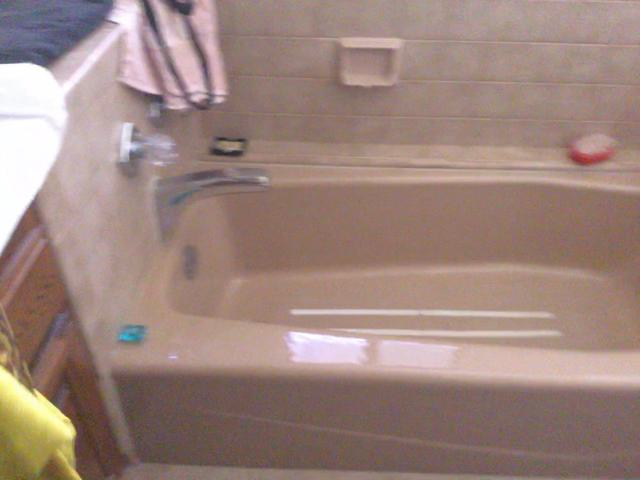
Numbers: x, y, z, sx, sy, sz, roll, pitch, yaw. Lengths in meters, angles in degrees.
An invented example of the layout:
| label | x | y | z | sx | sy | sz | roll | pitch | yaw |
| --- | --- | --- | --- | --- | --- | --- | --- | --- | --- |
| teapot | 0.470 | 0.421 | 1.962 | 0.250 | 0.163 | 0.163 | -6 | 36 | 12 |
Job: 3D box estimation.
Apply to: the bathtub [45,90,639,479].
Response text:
| label | x | y | z | sx | sy | sz | roll | pitch | yaw |
| --- | --- | --- | --- | --- | --- | --- | --- | --- | --- |
| bathtub | 0.460 | 0.080 | 1.400 | 1.780 | 0.540 | 0.830 | 1 | 39 | 1 |
